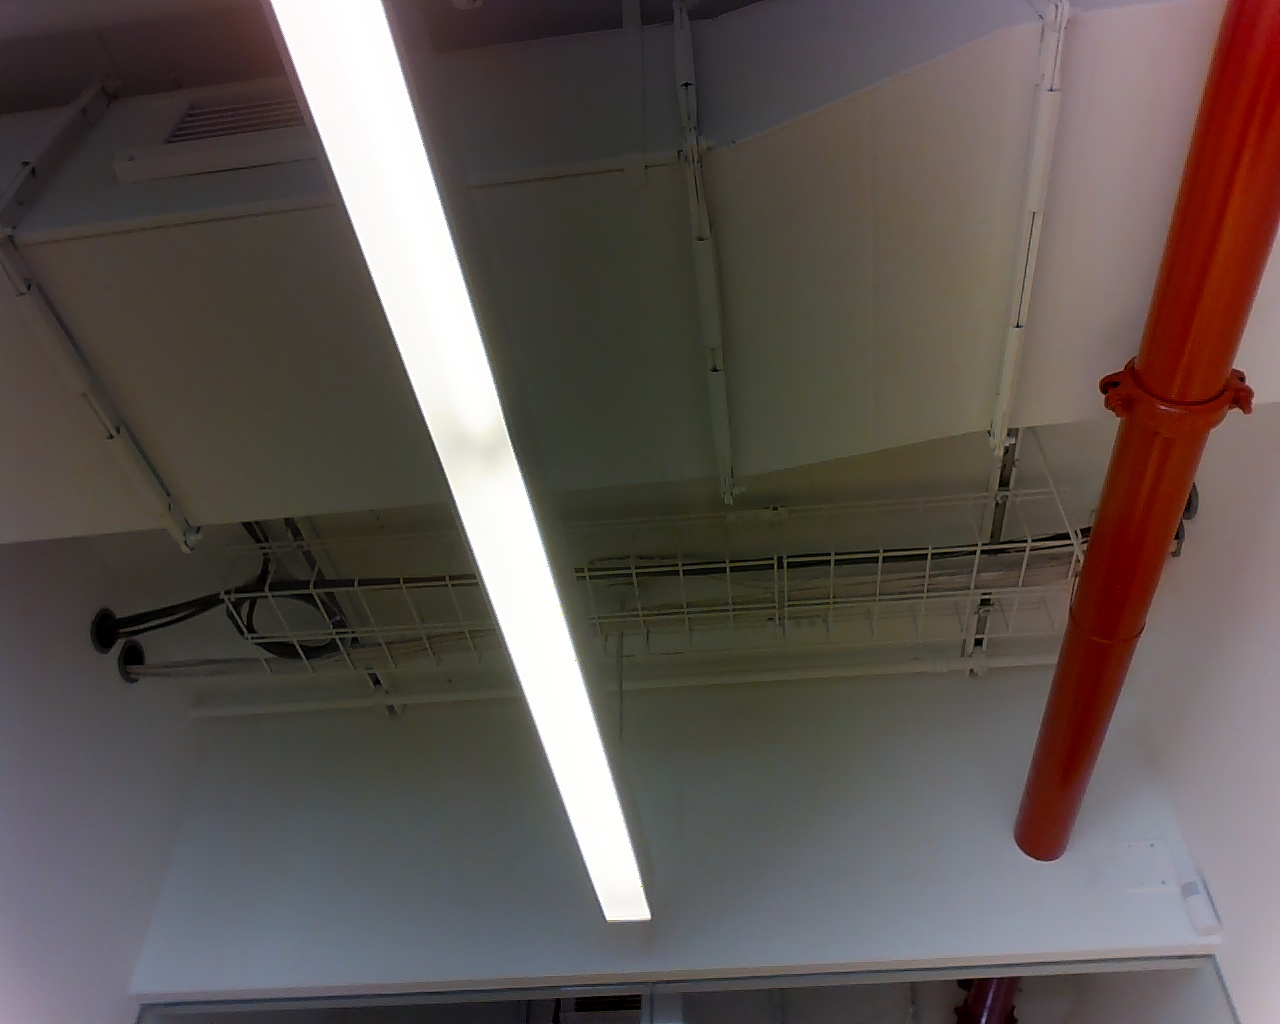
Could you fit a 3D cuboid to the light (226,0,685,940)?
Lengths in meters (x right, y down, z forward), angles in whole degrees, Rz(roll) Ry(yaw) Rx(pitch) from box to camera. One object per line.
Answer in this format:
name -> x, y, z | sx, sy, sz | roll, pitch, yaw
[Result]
light -> -0.160, -0.090, 1.280 | 0.190, 0.180, 2.511 | -5, -44, 5
